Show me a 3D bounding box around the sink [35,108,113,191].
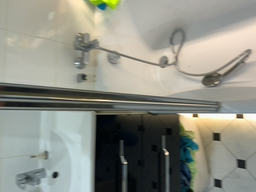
[{"bbox_3d":[-0.260,0.380,0.940,0.440,0.130,0.650,-4,84,46],"label":"sink"}]

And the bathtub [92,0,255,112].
[{"bbox_3d":[0.460,-0.300,1.040,1.360,0.580,0.750,-4,84,46],"label":"bathtub"}]
